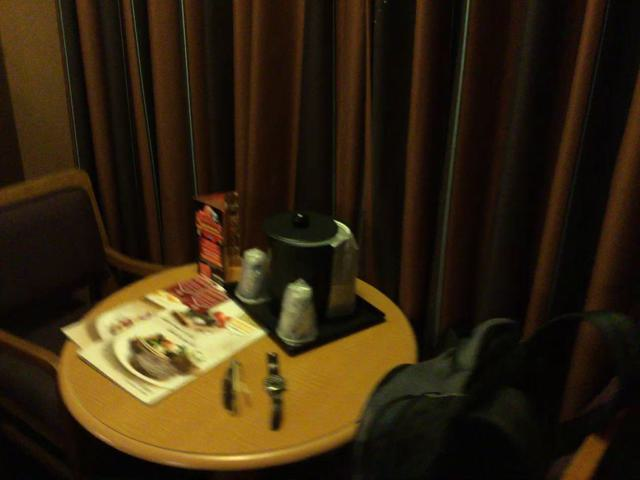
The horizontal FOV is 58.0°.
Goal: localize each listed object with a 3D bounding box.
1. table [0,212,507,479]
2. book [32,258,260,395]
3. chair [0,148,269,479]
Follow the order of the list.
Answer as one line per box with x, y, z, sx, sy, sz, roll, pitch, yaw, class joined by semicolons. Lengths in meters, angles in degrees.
-0.150;0.510;1.330;0.790;0.850;0.740;17;26;34;table
-0.390;0.170;1.310;0.380;0.070;0.330;-18;29;-41;book
-0.640;0.260;1.760;0.650;0.880;0.710;17;26;34;chair
